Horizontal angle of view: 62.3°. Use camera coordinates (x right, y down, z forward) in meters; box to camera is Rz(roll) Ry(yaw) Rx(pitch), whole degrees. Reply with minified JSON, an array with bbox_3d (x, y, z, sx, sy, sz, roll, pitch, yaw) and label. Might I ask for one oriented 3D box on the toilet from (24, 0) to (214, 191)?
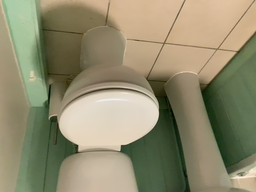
[{"bbox_3d":[-0.110,0.130,0.900,0.420,0.800,0.670,3,146,-15],"label":"toilet"}]
